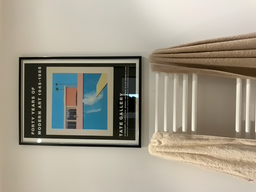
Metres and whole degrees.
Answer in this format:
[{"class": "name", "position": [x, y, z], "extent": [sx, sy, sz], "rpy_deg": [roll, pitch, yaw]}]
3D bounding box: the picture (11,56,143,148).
[{"class": "picture", "position": [-0.250, 0.020, 1.040], "extent": [0.030, 0.640, 0.430], "rpy_deg": [30, -119, -84]}]

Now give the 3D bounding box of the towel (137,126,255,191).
[{"class": "towel", "position": [0.520, 0.280, 0.880], "extent": [0.190, 0.950, 0.250], "rpy_deg": [-19, -70, -84]}]
